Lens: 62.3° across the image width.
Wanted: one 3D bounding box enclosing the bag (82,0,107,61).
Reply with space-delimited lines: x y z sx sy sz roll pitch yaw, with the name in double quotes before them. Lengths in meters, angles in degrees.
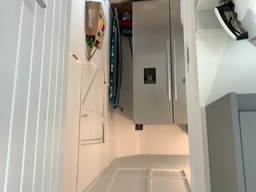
"bag" -0.350 -0.710 2.310 0.170 0.540 0.420 -1 170 4
